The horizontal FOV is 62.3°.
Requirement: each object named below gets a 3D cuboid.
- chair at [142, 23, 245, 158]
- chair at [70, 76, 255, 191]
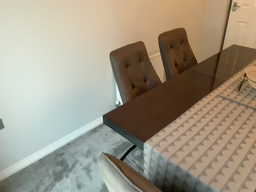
[{"bbox_3d":[0.510,-0.070,1.870,0.470,0.950,0.580,-27,39,-37],"label":"chair"},{"bbox_3d":[0.200,0.500,0.910,0.580,0.940,0.490,-24,38,-34],"label":"chair"}]
